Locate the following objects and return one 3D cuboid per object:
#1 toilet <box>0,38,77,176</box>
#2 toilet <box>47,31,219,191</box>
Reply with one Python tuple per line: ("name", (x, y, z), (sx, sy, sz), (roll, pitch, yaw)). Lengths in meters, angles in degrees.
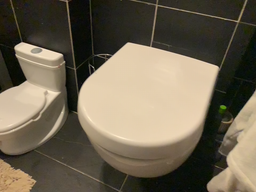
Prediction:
("toilet", (-0.480, 0.030, 0.950), (0.280, 0.380, 0.410), (19, 42, 16))
("toilet", (0.070, 0.050, 0.770), (0.380, 0.300, 0.560), (17, 42, 13))
